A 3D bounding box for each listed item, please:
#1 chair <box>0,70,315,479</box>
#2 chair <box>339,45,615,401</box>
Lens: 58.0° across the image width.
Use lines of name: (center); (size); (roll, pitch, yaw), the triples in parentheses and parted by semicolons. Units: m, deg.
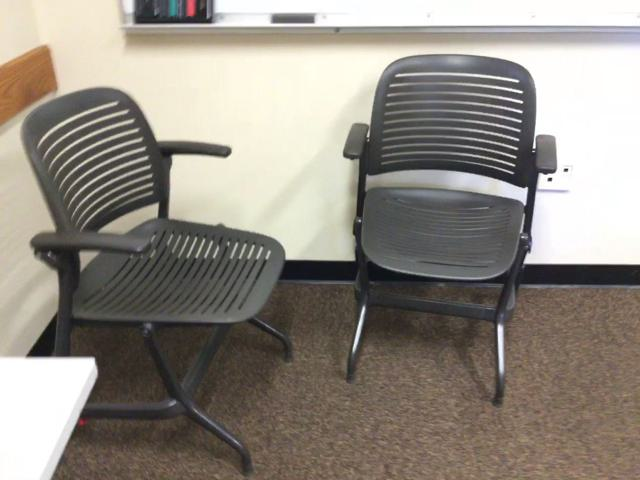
chair: (-0.390, 0.070, 1.520); (0.600, 0.870, 0.610); (2, 29, 11)
chair: (0.360, -0.070, 1.690); (0.570, 0.820, 0.630); (-2, 28, 2)
